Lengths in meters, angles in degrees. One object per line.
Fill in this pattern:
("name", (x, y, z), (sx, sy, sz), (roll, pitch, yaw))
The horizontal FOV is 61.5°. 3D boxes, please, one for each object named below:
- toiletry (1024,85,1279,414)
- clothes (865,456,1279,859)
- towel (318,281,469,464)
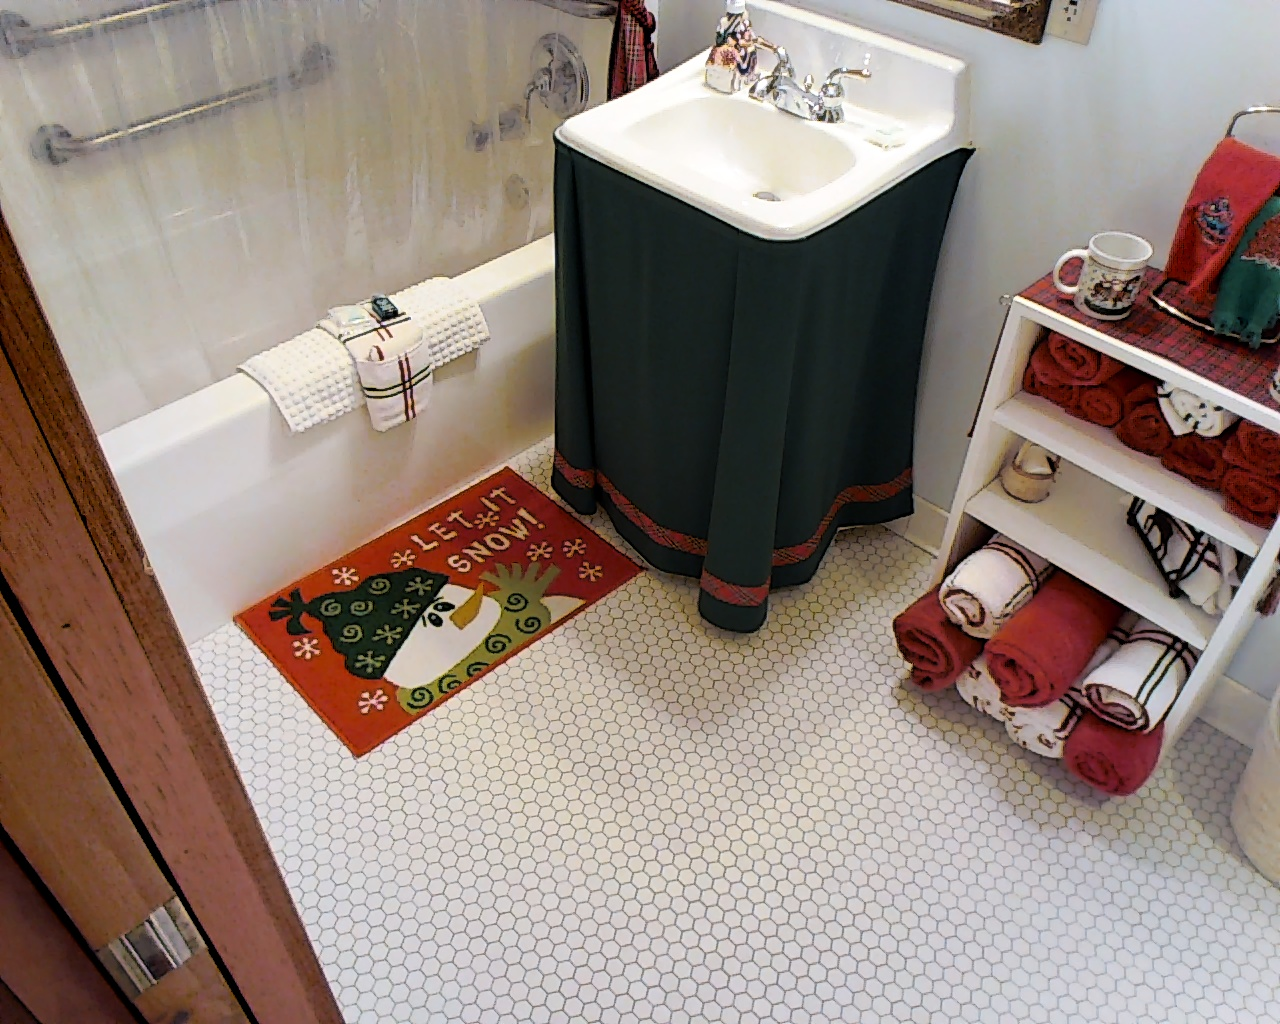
("toiletry", (0.800, -0.340, 1.410), (0.250, 0.250, 0.450), (-33, 52, -32))
("clothes", (0.730, 0.220, 1.830), (0.410, 0.290, 0.500), (-32, 51, -31))
("towel", (-0.470, -0.270, 2.080), (0.190, 0.250, 0.170), (-32, 51, -31))
